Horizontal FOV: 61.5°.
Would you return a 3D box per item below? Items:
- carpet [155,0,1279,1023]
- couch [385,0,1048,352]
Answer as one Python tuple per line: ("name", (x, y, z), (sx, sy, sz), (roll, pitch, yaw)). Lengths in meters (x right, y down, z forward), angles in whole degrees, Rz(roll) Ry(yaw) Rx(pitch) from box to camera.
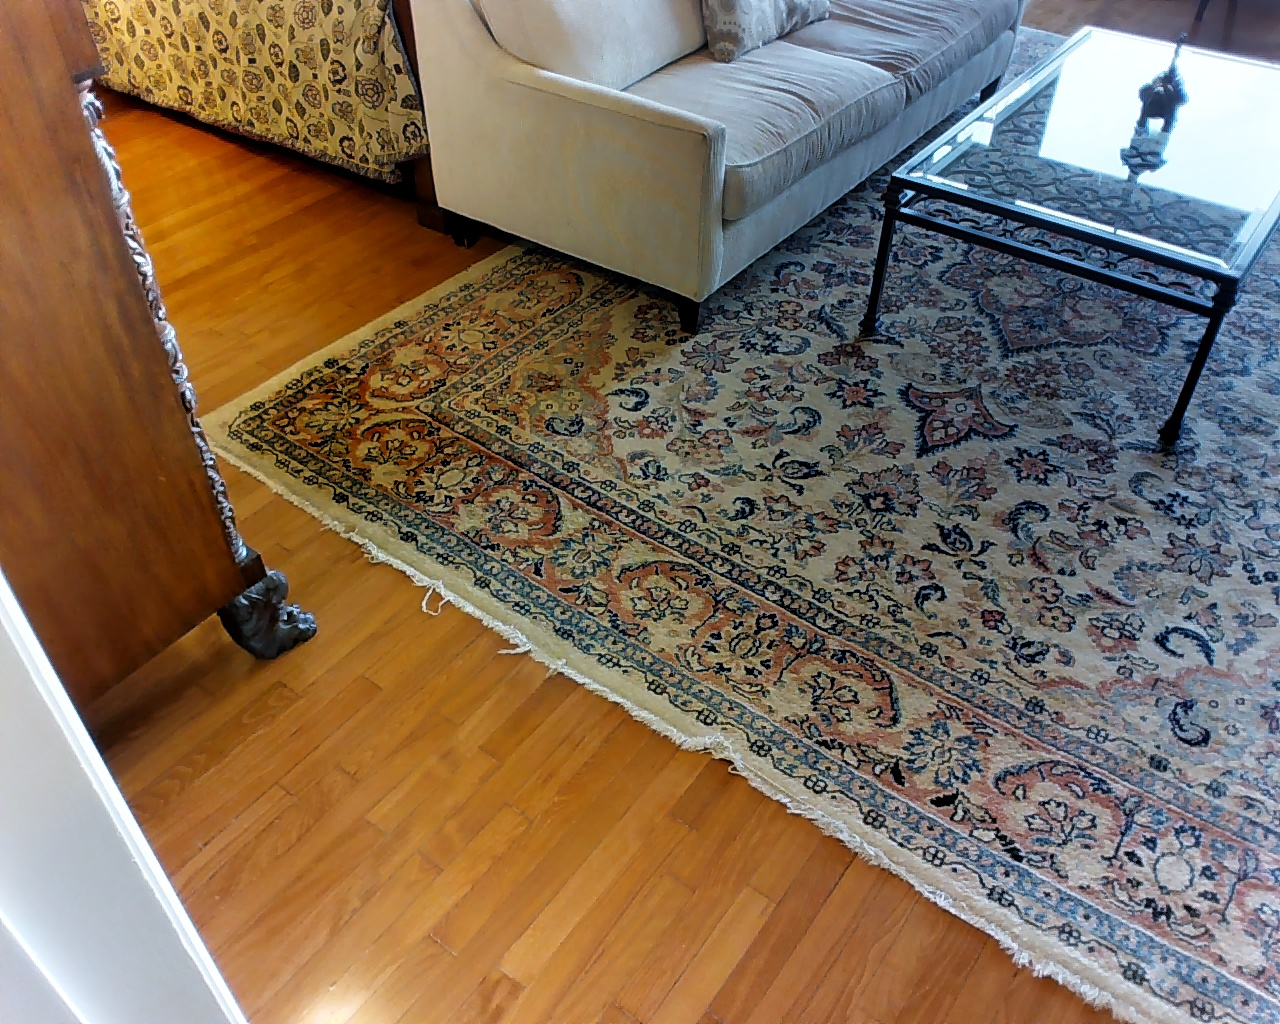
("carpet", (1.260, -0.800, 3.220), (2.930, 0.070, 4.190), (26, 48, 25))
("couch", (0.420, -1.560, 3.440), (1.070, 0.860, 2.260), (25, 47, 25))
